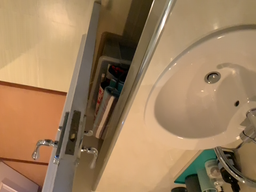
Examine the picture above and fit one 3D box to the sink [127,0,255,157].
[{"bbox_3d":[0.310,-0.020,0.820,0.480,0.180,0.600,10,133,-12],"label":"sink"}]
